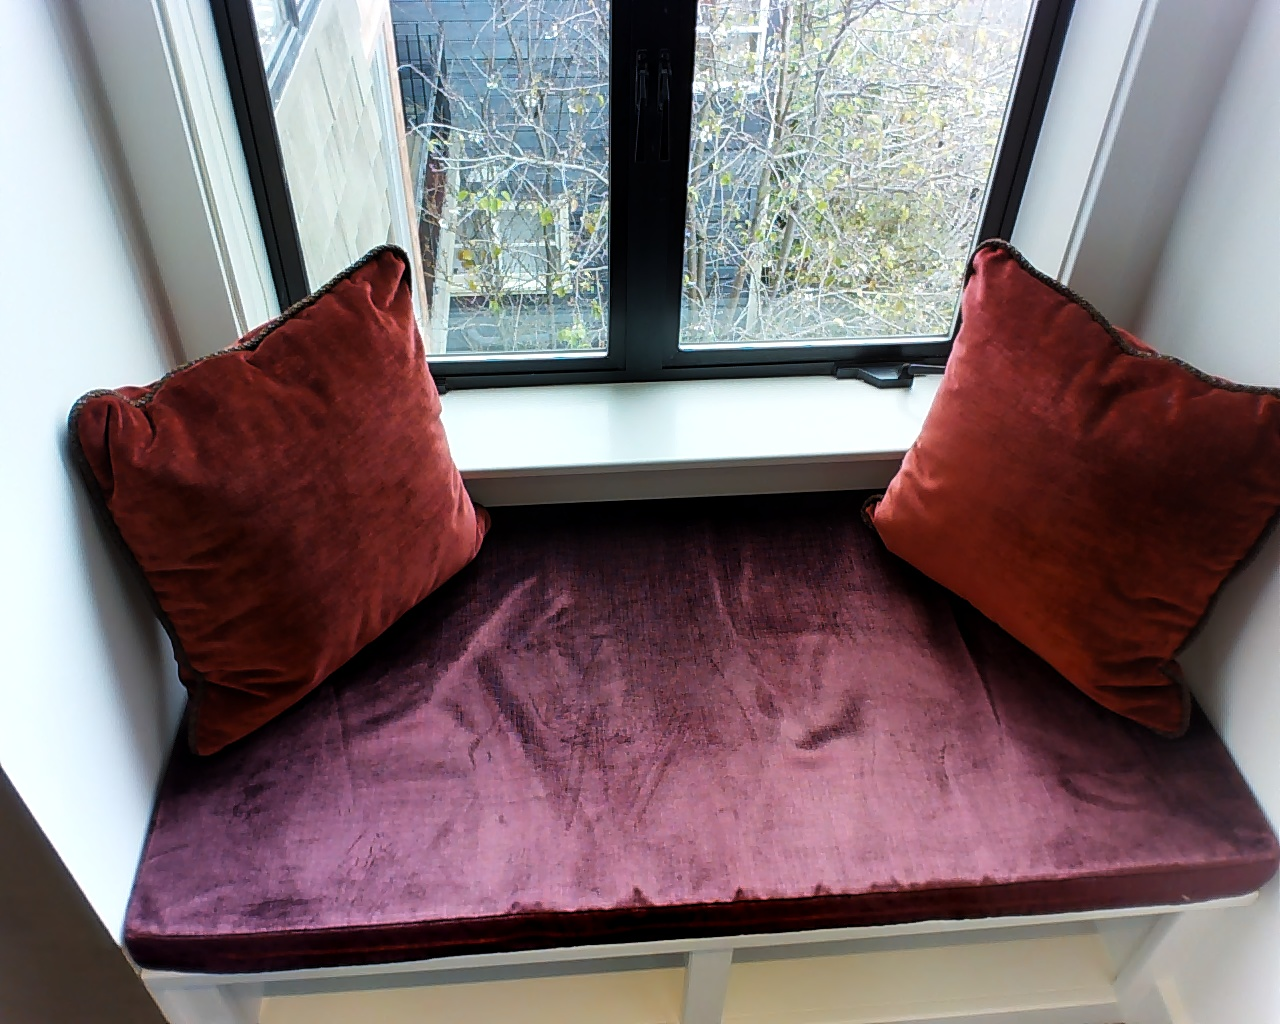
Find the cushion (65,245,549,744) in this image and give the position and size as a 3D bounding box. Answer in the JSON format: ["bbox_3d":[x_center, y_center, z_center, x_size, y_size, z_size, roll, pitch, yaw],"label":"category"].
[{"bbox_3d":[-0.360,-0.040,1.280,0.430,0.430,0.190,-27,36,-35],"label":"cushion"}]

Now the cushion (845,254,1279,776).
[{"bbox_3d":[0.530,-0.040,1.300,0.240,0.410,0.550,-13,29,-24],"label":"cushion"}]
